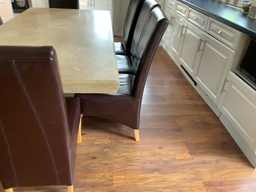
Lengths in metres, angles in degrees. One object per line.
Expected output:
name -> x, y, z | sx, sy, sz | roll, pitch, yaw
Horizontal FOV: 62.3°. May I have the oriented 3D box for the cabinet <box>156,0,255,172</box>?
cabinet -> 1.020, -0.580, 2.600 | 0.600, 0.890, 2.900 | 0, 32, -8
